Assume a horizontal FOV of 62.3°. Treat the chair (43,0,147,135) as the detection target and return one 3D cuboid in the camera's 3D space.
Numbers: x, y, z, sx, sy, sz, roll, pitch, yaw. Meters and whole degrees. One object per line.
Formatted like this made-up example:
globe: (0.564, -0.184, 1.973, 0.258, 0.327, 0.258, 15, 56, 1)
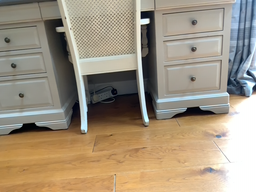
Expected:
chair: (-0.170, -0.310, 1.340, 0.460, 0.940, 0.480, -6, 20, -2)
